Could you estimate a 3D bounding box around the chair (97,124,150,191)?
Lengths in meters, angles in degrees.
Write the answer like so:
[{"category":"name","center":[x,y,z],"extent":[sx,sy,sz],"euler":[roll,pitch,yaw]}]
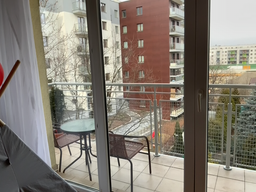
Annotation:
[{"category":"chair","center":[-0.040,0.720,2.630],"extent":[0.450,0.590,0.490],"euler":[3,11,27]}]
